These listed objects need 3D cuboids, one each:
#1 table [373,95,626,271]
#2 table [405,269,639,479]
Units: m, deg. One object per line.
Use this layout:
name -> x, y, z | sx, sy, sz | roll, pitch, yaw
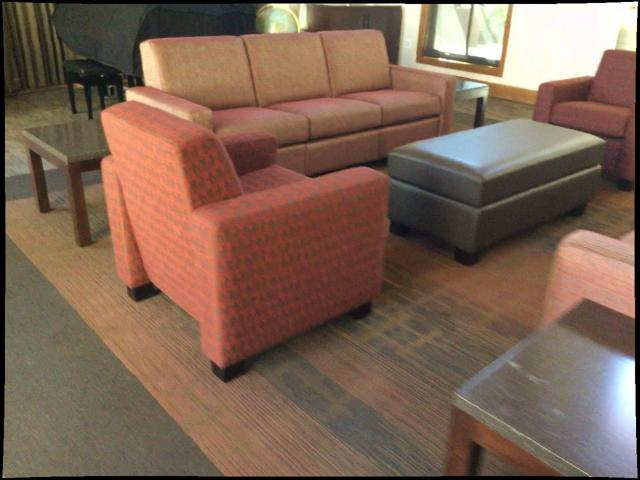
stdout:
table -> 0.959, -0.370, 3.060 | 1.269, 0.470, 0.620 | -22, 34, -35
table -> 0.699, 0.521, 1.340 | 0.660, 0.470, 0.730 | -22, 34, -35
